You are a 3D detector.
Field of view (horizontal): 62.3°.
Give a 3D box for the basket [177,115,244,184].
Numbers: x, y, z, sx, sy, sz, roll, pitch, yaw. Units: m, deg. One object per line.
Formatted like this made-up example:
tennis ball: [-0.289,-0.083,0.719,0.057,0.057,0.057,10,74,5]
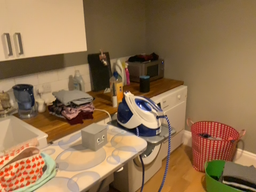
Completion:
basket: [0.920,0.560,2.400,0.540,0.460,0.450,16,24,41]
